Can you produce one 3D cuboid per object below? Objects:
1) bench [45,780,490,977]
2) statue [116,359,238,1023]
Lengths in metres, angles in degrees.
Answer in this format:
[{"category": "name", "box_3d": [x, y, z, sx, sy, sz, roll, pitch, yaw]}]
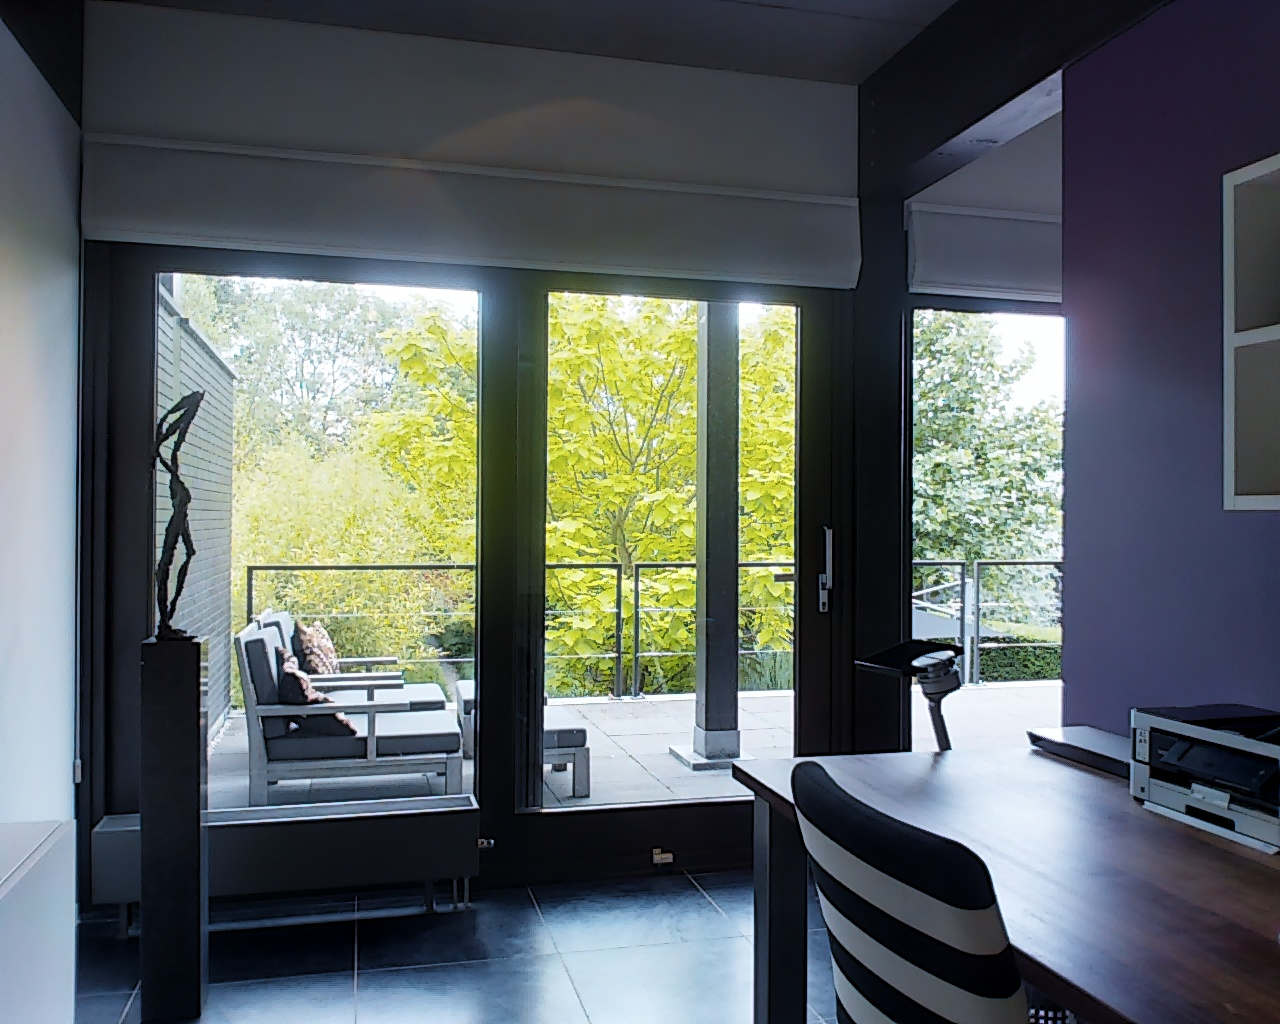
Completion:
[{"category": "bench", "box_3d": [-1.190, 1.190, 3.600, 1.320, 0.410, 0.470, 0, -1, -14]}, {"category": "statue", "box_3d": [-1.250, 0.480, 2.930, 0.240, 1.740, 0.310, 0, -1, -14]}]
